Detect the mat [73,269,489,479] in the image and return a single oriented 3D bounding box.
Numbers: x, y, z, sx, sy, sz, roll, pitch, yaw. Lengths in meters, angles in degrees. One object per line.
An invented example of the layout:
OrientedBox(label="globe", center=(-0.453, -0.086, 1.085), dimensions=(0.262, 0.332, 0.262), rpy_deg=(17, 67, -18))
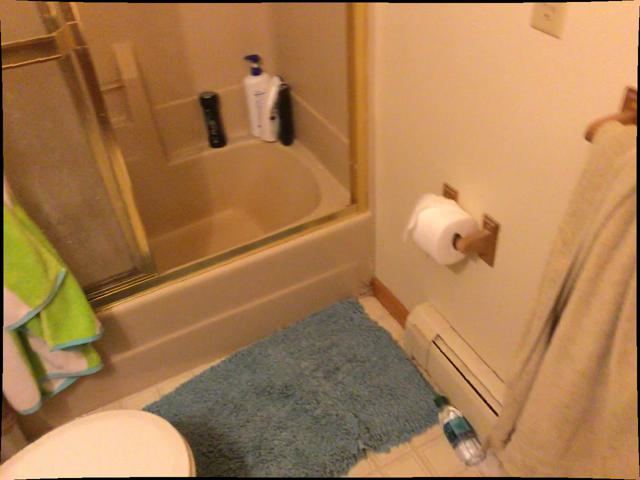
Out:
OrientedBox(label="mat", center=(-0.120, 0.480, 1.610), dimensions=(0.969, 0.100, 0.620), rpy_deg=(-23, 44, -20))
